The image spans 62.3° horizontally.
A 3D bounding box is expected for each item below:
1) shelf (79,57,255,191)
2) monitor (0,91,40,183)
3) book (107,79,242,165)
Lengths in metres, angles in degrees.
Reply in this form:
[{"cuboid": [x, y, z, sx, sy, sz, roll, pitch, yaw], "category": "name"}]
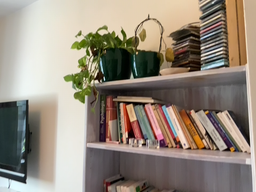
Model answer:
[{"cuboid": [0.180, 0.790, 1.040, 0.870, 1.790, 0.330, -4, -7, 34], "category": "shelf"}, {"cuboid": [-1.280, 0.360, 2.060, 1.230, 0.730, 0.050, -4, -10, 33], "category": "monitor"}, {"cuboid": [0.210, 0.130, 1.150, 0.670, 0.340, 0.240, -5, -7, 39], "category": "book"}]
